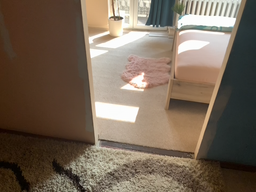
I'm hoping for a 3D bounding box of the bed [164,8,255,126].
[{"bbox_3d":[1.500,-0.570,2.850,1.790,0.530,2.310,8,36,9],"label":"bed"}]
